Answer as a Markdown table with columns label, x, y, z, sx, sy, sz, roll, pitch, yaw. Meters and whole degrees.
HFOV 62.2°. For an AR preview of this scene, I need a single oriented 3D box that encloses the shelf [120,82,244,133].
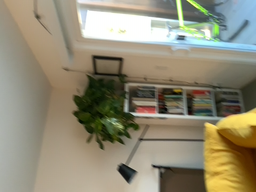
| label | x | y | z | sx | sy | sz | roll | pitch | yaw |
| --- | --- | --- | --- | --- | --- | --- | --- | --- | --- |
| shelf | 0.650 | 0.170 | 2.750 | 0.410 | 1.470 | 0.450 | 106 | 168 | -68 |
